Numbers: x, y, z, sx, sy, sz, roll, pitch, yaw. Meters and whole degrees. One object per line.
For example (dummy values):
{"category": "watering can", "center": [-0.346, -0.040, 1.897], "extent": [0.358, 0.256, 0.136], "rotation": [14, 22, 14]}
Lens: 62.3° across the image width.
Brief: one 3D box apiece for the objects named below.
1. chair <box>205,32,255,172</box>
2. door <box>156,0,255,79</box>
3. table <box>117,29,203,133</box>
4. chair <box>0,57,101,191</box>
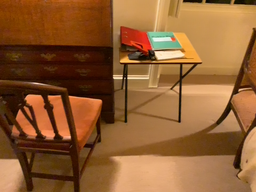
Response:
{"category": "chair", "center": [1.100, 0.080, 1.620], "extent": [0.610, 0.950, 0.510], "rotation": [1, 38, -3]}
{"category": "door", "center": [0.950, -1.310, 1.950], "extent": [1.030, 2.650, 0.160], "rotation": [0, 38, -4]}
{"category": "table", "center": [0.210, -0.130, 1.970], "extent": [0.610, 0.770, 0.560], "rotation": [1, 38, -3]}
{"category": "chair", "center": [-0.470, 0.230, 1.440], "extent": [0.450, 0.770, 0.550], "rotation": [5, 38, 2]}
